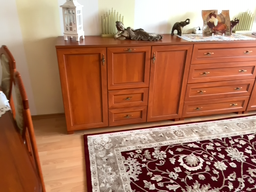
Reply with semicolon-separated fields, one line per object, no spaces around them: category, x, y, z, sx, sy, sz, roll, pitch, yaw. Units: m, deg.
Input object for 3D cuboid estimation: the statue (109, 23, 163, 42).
statue;0.070;-0.670;2.200;0.470;0.130;0.310;-7;28;-17
